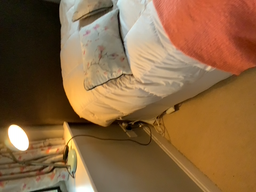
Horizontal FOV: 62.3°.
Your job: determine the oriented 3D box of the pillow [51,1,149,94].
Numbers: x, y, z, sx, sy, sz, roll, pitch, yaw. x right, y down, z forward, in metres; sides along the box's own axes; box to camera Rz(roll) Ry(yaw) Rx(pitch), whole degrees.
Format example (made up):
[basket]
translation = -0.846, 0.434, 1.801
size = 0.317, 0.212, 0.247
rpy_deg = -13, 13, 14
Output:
[pillow]
translation = -0.180, -0.350, 1.480
size = 0.520, 0.400, 0.180
rpy_deg = 43, 142, -2
